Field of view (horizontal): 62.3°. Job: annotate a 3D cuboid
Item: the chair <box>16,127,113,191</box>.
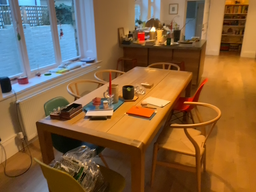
[{"bbox_3d":[-0.390,0.700,1.490,0.390,0.770,0.430,12,24,26],"label":"chair"}]
